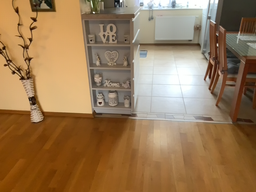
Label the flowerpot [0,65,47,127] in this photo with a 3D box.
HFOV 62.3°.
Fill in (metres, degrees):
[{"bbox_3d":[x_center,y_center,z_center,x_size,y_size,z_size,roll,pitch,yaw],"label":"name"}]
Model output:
[{"bbox_3d":[-1.210,0.010,2.470,0.330,0.710,0.200,1,27,3],"label":"flowerpot"}]
